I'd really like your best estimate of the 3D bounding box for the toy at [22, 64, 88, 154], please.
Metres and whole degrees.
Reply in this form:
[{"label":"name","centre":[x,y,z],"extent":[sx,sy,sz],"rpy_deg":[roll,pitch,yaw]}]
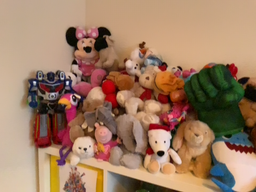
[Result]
[{"label":"toy","centre":[-0.350,0.040,1.080],"extent":[0.130,0.390,0.310],"rpy_deg":[6,9,25]}]
